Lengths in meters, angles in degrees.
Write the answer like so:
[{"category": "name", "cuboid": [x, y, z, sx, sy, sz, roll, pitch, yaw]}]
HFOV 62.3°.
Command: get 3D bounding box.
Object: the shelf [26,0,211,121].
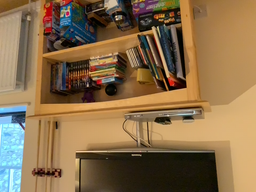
[{"category": "shelf", "cuboid": [-0.070, -0.450, 1.340, 0.990, 1.140, 0.420, -6, 168, 22]}]
